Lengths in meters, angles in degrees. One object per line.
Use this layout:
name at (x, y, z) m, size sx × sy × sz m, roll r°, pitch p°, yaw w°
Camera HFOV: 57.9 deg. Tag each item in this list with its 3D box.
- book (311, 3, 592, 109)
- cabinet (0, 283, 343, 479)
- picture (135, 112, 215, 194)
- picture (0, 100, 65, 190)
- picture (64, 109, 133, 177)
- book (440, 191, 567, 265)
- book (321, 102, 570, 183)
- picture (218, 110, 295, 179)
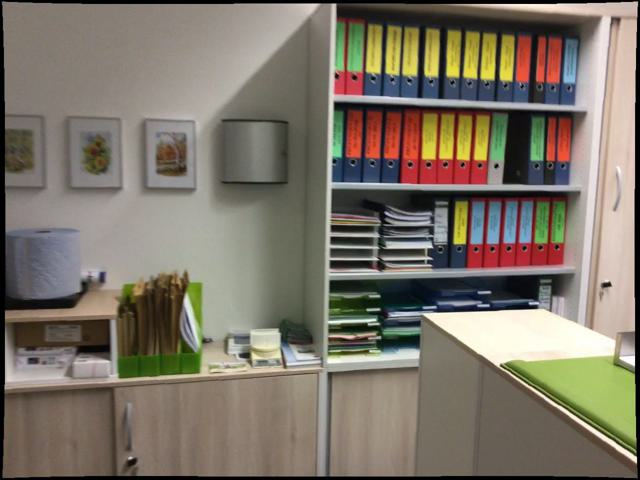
book at (0.569, -0.781, 2.550) m, size 1.159 × 0.320 × 0.350 m, roll -1°, pitch 9°, yaw -14°
cabinet at (-0.749, 0.731, 2.330) m, size 1.569 × 0.981 × 0.510 m, roll -1°, pitch 9°, yaw -14°
picture at (-0.619, -0.370, 2.490) m, size 0.330 × 0.340 × 0.040 m, roll -1°, pitch 9°, yaw -14°
picture at (-1.199, -0.380, 2.340) m, size 0.290 × 0.350 × 0.040 m, roll -1°, pitch 9°, yaw -14°
picture at (-0.919, -0.400, 2.410) m, size 0.260 × 0.270 × 0.030 m, roll -1°, pitch 9°, yaw -14°
book at (0.839, -0.060, 2.660) m, size 0.520 × 0.310 × 0.180 m, roll -1°, pitch 9°, yaw -14°
book at (0.549, -0.410, 2.500) m, size 1.079 × 0.300 × 0.160 m, roll -1°, pitch 9°, yaw -14°
picture at (-0.280, -0.410, 2.520) m, size 0.320 × 0.280 × 0.130 m, roll -1°, pitch 9°, yaw -14°
